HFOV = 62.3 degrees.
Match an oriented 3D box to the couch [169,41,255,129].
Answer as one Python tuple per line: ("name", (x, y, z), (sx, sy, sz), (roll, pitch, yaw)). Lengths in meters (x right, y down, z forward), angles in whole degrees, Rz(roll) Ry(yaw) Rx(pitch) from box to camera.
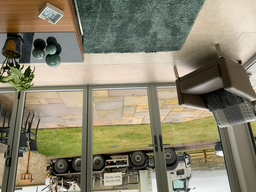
("couch", (1.200, -0.070, 2.860), (0.930, 0.810, 0.760), (11, 155, -34))

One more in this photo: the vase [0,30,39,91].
("vase", (-0.880, -0.280, 1.690), (0.220, 0.420, 0.230), (-1, 159, -7))
